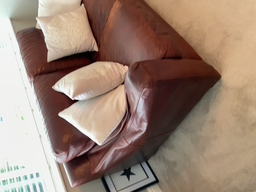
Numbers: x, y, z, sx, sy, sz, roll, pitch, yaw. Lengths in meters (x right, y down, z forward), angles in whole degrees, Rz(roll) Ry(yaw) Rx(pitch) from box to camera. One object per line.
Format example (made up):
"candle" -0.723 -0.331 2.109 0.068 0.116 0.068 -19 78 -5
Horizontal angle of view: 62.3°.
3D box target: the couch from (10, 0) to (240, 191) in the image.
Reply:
"couch" -0.290 -0.320 1.630 1.640 0.820 0.980 58 137 31

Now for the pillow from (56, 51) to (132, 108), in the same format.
"pillow" -0.230 -0.130 1.390 0.370 0.370 0.140 41 149 53

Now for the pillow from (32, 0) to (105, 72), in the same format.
"pillow" -0.460 -0.480 1.680 0.410 0.390 0.200 58 168 19

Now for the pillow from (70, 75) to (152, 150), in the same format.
"pillow" -0.120 0.070 1.280 0.370 0.370 0.170 41 156 61
